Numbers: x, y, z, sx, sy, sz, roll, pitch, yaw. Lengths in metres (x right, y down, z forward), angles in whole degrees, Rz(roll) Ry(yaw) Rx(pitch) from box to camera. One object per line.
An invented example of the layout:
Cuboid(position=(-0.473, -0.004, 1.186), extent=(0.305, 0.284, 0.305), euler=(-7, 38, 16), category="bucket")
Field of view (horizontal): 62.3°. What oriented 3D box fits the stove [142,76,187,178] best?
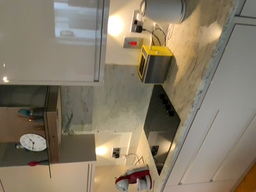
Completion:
Cuboid(position=(0.250, 0.240, 1.680), extent=(0.510, 0.040, 0.610), euler=(-108, 23, -52), category="stove")
